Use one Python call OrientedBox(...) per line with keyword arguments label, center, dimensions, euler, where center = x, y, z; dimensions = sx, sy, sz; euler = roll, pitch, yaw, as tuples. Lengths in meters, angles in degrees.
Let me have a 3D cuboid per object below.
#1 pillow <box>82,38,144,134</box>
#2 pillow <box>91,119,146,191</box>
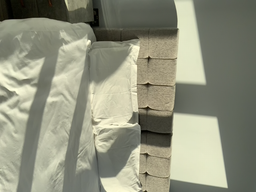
OrientedBox(label="pillow", center=(-0.130, -0.080, 1.850), dimensions=(0.190, 0.480, 0.810), euler=(-94, -174, -72))
OrientedBox(label="pillow", center=(-0.100, 0.650, 2.090), dimensions=(0.170, 0.500, 0.830), euler=(-111, -159, -74))
